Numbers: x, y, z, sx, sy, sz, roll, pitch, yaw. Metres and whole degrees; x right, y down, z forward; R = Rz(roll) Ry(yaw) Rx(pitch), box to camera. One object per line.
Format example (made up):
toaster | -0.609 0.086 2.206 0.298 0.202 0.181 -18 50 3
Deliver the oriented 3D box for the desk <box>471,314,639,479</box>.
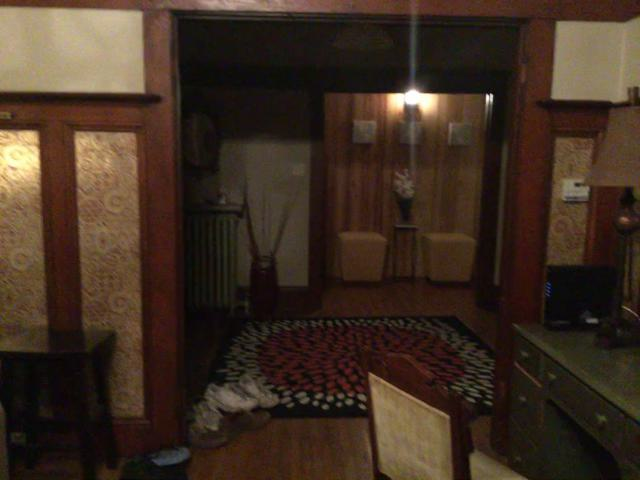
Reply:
desk | 1.000 0.760 1.970 0.490 0.790 1.110 -1 4 -12

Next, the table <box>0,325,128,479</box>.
table | -1.140 0.730 2.460 0.530 0.650 0.320 -1 8 -5
